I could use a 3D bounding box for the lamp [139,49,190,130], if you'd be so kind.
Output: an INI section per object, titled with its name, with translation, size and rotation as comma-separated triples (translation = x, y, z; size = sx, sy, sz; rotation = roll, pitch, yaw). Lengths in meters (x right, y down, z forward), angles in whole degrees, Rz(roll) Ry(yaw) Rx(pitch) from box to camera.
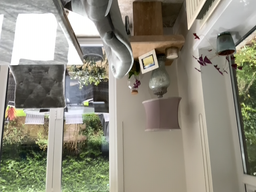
[lamp]
translation = 0.330, -0.050, 2.090
size = 0.400, 0.740, 0.330
rotation = -1, 168, -1
